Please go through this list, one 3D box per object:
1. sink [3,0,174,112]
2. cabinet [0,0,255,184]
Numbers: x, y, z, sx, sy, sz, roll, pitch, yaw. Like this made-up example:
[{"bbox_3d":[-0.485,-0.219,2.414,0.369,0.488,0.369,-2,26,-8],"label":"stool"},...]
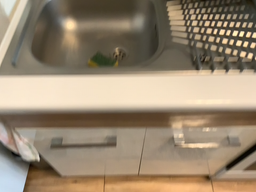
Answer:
[{"bbox_3d":[-0.100,-0.190,0.710,0.410,0.180,0.450,0,56,-2],"label":"sink"},{"bbox_3d":[0.040,0.000,1.000,0.830,0.870,0.590,0,56,-2],"label":"cabinet"}]
